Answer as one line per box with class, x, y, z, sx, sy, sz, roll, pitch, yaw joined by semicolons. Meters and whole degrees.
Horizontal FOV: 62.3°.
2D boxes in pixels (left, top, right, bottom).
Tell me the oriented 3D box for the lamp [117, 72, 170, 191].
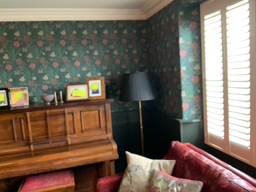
lamp;0.170;0.470;2.580;0.460;1.480;0.590;-5;7;-4
